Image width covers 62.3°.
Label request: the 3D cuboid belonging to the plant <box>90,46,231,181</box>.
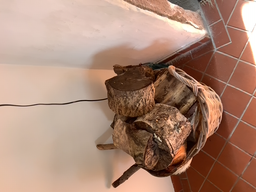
[{"bbox_3d":[0.200,0.100,1.250,0.430,0.580,0.580,-23,78,42],"label":"plant"}]
